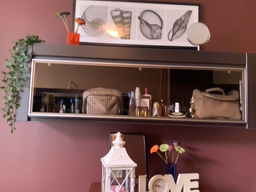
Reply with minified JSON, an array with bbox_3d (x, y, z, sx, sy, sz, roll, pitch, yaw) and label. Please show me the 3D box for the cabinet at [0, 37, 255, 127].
[{"bbox_3d":[0.030,-0.070,1.440,1.560,0.500,0.310,2,-4,-2],"label":"cabinet"}]
